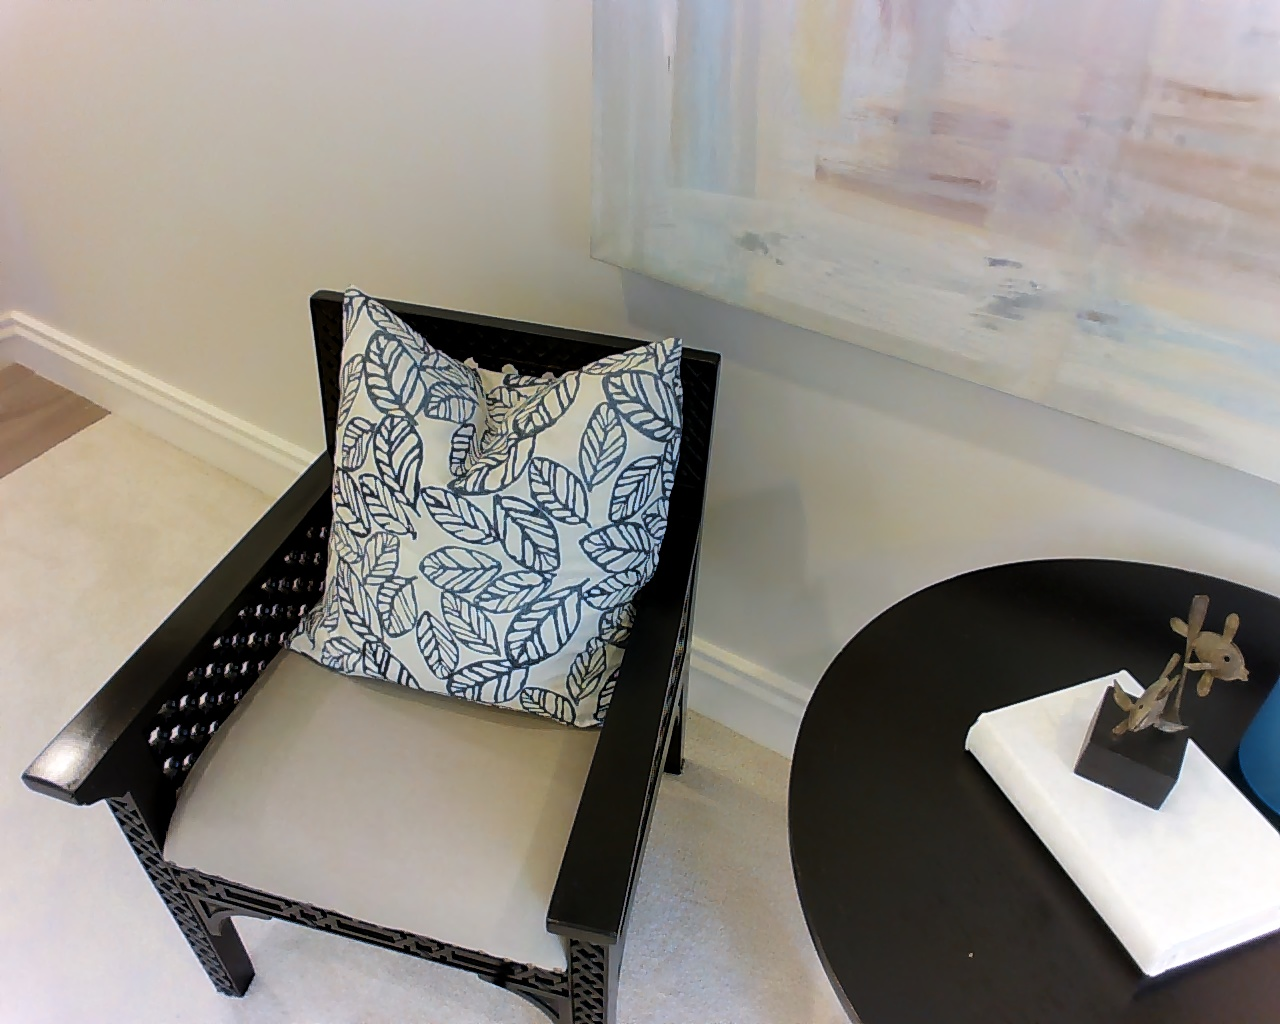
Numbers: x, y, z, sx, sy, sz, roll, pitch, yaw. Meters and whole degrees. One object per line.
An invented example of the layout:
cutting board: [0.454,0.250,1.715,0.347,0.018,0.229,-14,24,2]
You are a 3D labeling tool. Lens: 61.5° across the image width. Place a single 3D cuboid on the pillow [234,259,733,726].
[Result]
pillow: [-0.160,-0.020,1.400,0.450,0.480,0.320,-1,35,18]
